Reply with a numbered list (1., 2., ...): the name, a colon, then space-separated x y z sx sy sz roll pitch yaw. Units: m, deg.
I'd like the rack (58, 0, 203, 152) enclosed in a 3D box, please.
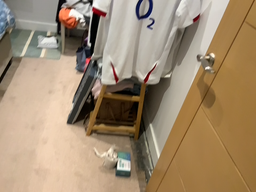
1. rack: -0.100 -0.380 1.610 0.710 1.540 0.790 4 39 -12
